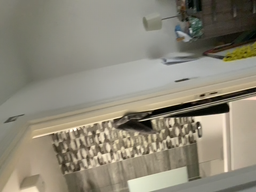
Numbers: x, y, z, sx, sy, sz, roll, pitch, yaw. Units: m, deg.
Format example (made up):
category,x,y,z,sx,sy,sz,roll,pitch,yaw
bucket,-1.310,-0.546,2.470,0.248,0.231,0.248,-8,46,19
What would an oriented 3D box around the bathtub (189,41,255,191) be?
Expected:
category,x,y,z,sx,sy,sz,roll,pitch,yaw
bathtub,1.150,0.320,2.380,0.680,0.550,1.700,-116,15,-70
